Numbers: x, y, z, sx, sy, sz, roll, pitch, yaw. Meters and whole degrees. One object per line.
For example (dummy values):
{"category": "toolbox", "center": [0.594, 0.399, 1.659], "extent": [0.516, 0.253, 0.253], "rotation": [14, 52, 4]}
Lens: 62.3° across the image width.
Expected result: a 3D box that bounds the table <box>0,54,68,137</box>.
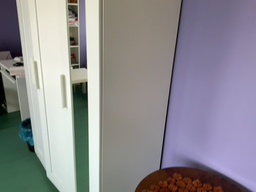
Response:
{"category": "table", "center": [-1.210, -0.070, 2.710], "extent": [0.490, 0.750, 0.840], "rotation": [-16, 30, -40]}
